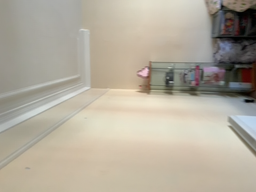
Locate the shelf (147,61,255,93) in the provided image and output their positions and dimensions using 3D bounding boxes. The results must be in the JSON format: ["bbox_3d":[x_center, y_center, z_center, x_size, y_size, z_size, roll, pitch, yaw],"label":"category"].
[{"bbox_3d":[1.160,-0.350,3.570,0.570,1.640,0.440,-50,-38,-78],"label":"shelf"}]
